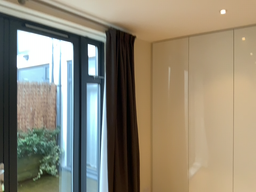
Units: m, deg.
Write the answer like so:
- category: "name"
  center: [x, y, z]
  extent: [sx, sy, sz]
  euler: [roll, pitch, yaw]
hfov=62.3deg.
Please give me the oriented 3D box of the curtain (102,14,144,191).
- category: "curtain"
  center: [-0.050, 0.450, 2.190]
  extent: [0.240, 2.410, 0.380]
  euler: [1, 1, 37]
